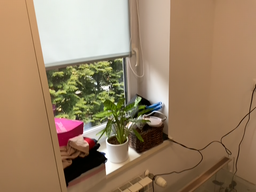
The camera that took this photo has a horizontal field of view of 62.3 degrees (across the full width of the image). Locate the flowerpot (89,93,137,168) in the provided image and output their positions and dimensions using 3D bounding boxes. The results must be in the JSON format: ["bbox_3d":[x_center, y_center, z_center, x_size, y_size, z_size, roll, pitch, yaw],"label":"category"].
[{"bbox_3d":[-0.090,0.210,1.370,0.210,0.390,0.200,-17,23,-38],"label":"flowerpot"}]
